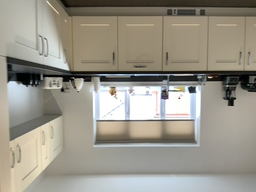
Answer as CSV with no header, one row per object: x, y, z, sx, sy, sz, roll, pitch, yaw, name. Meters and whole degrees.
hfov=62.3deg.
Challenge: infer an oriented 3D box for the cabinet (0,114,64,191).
-1.200,0.650,2.420,0.370,0.590,2.080,0,-177,-2,cabinet
